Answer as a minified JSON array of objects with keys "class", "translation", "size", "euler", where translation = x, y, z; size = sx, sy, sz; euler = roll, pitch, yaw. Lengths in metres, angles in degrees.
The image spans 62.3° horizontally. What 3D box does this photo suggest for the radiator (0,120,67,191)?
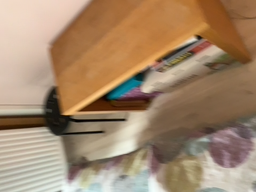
[{"class":"radiator","translation":[-0.920,0.510,1.500],"size":[0.250,0.850,0.590],"euler":[-26,72,36]}]
